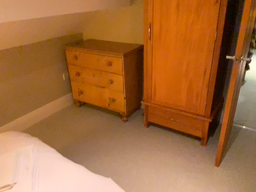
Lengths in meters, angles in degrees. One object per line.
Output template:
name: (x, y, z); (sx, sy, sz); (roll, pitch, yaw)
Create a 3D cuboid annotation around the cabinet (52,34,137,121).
cabinet: (-0.400, -0.280, 2.700); (0.890, 0.860, 0.480); (14, 31, 29)
